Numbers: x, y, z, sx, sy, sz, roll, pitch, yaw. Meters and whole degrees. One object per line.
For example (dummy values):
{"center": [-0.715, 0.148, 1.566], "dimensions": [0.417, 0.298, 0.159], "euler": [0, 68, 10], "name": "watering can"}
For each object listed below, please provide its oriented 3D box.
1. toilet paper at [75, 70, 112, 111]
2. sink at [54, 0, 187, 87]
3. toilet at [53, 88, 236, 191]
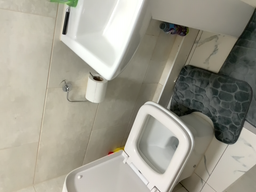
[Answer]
{"center": [-0.170, -0.030, 1.040], "dimensions": [0.090, 0.120, 0.170], "euler": [35, 118, 40], "name": "toilet paper"}
{"center": [-0.020, -0.370, 0.670], "dimensions": [0.390, 0.200, 0.560], "euler": [38, 120, 39], "name": "sink"}
{"center": [0.100, 0.330, 1.180], "dimensions": [0.420, 0.800, 0.600], "euler": [39, 121, 38], "name": "toilet"}
